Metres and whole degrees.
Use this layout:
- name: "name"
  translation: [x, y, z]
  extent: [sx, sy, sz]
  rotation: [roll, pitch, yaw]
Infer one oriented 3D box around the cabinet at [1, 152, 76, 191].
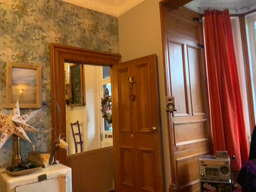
- name: "cabinet"
  translation: [-0.950, 1.050, 2.220]
  extent: [0.570, 0.740, 0.650]
  rotation: [0, -5, -39]
